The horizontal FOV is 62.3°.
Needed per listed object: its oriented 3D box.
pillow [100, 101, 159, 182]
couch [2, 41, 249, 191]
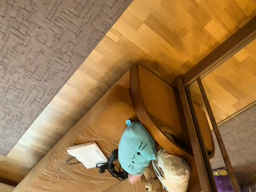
[{"bbox_3d":[-0.010,0.280,1.210,0.200,0.190,0.470,12,132,-10],"label":"pillow"},{"bbox_3d":[-0.300,0.800,1.740,1.000,0.990,2.040,31,126,-24],"label":"couch"}]
